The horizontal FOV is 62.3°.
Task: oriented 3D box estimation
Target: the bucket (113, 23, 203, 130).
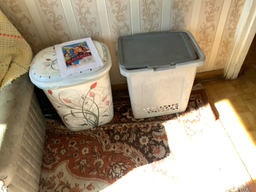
[{"bbox_3d":[0.160,-0.110,1.360,0.420,0.520,0.350,-9,47,-3],"label":"bucket"}]
